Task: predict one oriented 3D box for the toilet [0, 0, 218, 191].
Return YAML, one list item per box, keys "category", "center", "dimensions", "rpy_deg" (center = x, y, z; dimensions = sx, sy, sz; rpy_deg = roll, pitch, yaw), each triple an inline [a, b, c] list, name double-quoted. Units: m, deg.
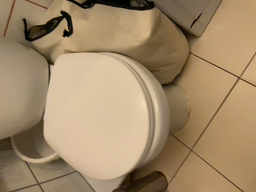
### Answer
- category: "toilet"
  center: [-0.180, 0.020, 0.720]
  dimensions: [0.660, 0.780, 0.400]
  rpy_deg: [12, 95, 37]
